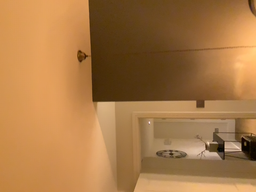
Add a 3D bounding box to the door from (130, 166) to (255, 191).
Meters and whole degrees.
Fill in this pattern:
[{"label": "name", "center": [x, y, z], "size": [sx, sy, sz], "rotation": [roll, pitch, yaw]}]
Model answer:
[{"label": "door", "center": [1.040, 0.930, 2.150], "size": [0.860, 1.970, 0.030], "rotation": [-6, -85, -78]}]
